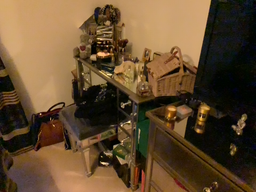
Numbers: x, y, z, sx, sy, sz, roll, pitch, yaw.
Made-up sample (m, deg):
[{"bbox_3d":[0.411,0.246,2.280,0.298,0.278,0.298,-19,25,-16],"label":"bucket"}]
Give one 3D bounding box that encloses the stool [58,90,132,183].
[{"bbox_3d":[-0.280,0.310,1.790,0.440,0.510,0.430,-15,31,-30],"label":"stool"}]
